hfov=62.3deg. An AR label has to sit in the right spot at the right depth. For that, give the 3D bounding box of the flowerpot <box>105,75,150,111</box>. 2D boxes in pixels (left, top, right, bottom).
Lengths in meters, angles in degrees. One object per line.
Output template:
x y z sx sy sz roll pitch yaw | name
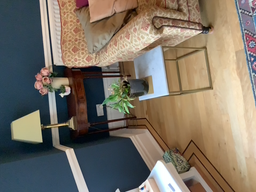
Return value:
-0.010 -0.020 1.550 0.200 0.230 0.220 -17 79 57 | flowerpot

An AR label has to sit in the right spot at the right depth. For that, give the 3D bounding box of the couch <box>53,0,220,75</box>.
-0.100 -1.300 1.780 1.030 0.860 2.060 -13 83 57 | couch

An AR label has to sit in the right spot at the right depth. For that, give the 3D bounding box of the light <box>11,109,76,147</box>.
-0.840 0.300 2.100 0.330 0.530 0.280 -13 83 57 | light
